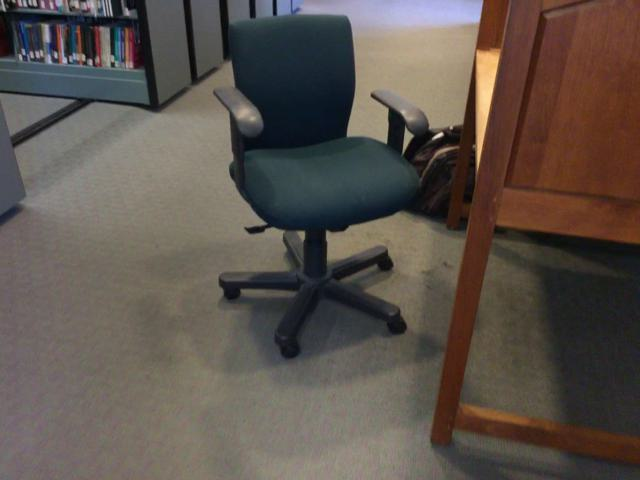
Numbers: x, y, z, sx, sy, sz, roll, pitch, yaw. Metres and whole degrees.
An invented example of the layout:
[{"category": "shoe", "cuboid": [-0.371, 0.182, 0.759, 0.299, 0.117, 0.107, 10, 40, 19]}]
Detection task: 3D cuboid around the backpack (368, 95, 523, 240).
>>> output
[{"category": "backpack", "cuboid": [0.560, -0.340, 2.590, 0.470, 0.430, 0.360, -29, 26, -13]}]
